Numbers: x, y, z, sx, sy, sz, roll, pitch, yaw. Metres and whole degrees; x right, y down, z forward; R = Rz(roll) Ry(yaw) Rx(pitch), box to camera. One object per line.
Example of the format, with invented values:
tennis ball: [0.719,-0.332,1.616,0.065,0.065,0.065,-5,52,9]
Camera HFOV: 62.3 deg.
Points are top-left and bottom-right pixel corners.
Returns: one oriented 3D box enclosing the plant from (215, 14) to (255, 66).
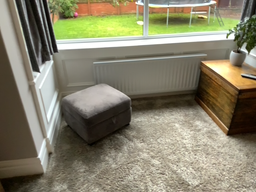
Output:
plant: [1.380,-0.710,2.670,0.310,0.550,0.330,-4,29,-6]
